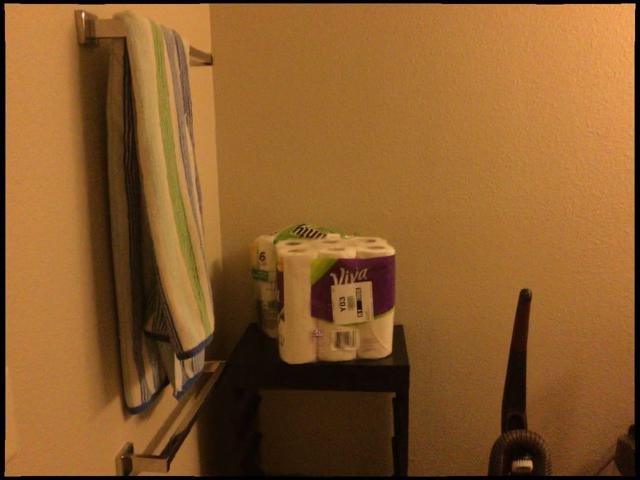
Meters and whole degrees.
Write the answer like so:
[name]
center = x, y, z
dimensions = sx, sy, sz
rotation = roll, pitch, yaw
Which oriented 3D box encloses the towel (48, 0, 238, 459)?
[towel]
center = -0.289, -0.020, 1.070
dimensions = 0.170, 0.761, 0.300
rotation = -1, 14, 3
